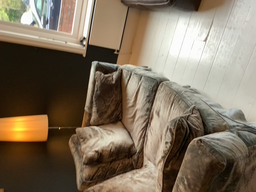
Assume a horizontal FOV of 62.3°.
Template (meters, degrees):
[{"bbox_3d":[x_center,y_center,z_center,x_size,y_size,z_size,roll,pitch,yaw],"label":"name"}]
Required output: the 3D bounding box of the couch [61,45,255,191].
[{"bbox_3d":[0.070,0.360,1.750,1.710,0.800,1.160,40,122,56],"label":"couch"}]
